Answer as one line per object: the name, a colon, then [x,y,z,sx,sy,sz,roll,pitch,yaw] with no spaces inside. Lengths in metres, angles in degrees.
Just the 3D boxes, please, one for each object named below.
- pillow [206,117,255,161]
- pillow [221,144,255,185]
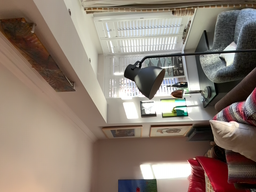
pillow: [1.180,0.470,2.230,0.470,0.550,0.200,49,-139,-35]
pillow: [1.300,0.770,2.380,0.160,0.380,0.400,12,-114,-37]
